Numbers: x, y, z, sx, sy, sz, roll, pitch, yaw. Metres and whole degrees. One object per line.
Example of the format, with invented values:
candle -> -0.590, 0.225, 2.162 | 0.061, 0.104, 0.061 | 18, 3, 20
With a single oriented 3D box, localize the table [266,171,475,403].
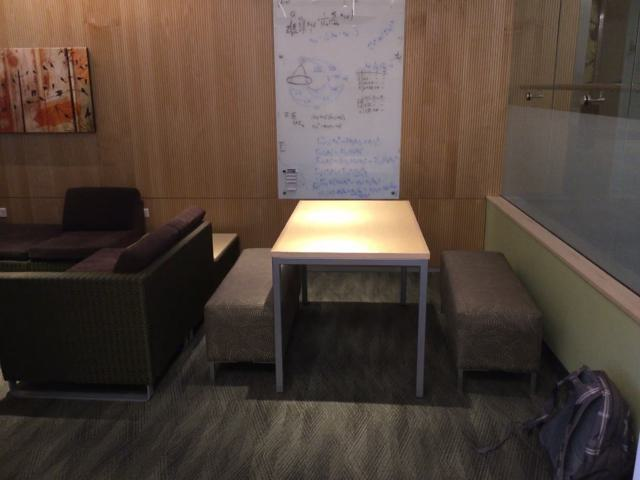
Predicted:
table -> 0.220, 0.160, 3.300 | 0.910, 0.870, 1.380 | -1, 17, 0

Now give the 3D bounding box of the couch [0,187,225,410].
couch -> -1.040, 0.220, 3.280 | 0.750, 0.770, 1.410 | -1, 17, 0
